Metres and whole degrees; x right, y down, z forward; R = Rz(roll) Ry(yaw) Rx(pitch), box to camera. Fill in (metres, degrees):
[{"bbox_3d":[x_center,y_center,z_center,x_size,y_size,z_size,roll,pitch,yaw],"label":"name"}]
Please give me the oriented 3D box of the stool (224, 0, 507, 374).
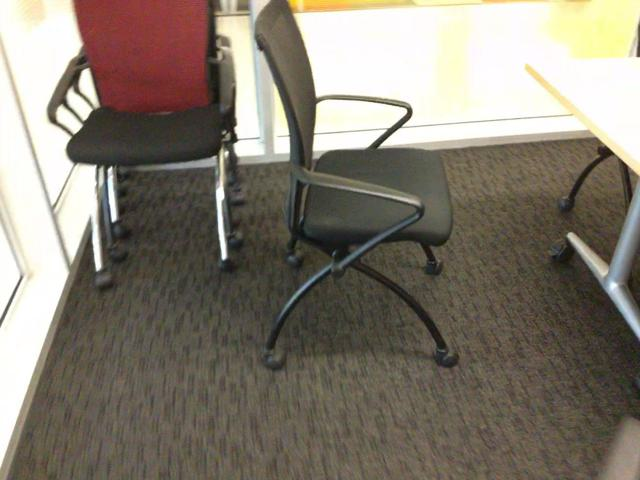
[{"bbox_3d":[0.110,-0.160,1.670,0.570,0.920,0.590,0,34,2],"label":"stool"}]
